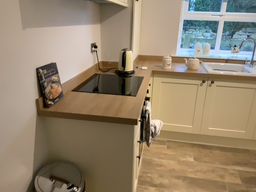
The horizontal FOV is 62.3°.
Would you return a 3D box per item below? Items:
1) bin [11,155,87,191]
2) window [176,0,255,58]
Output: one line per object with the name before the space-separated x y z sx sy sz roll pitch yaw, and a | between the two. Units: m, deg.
bin | -0.490 0.730 1.430 0.340 0.520 0.300 5 20 9
window | 1.330 -1.070 3.070 1.140 0.970 0.050 6 21 12
